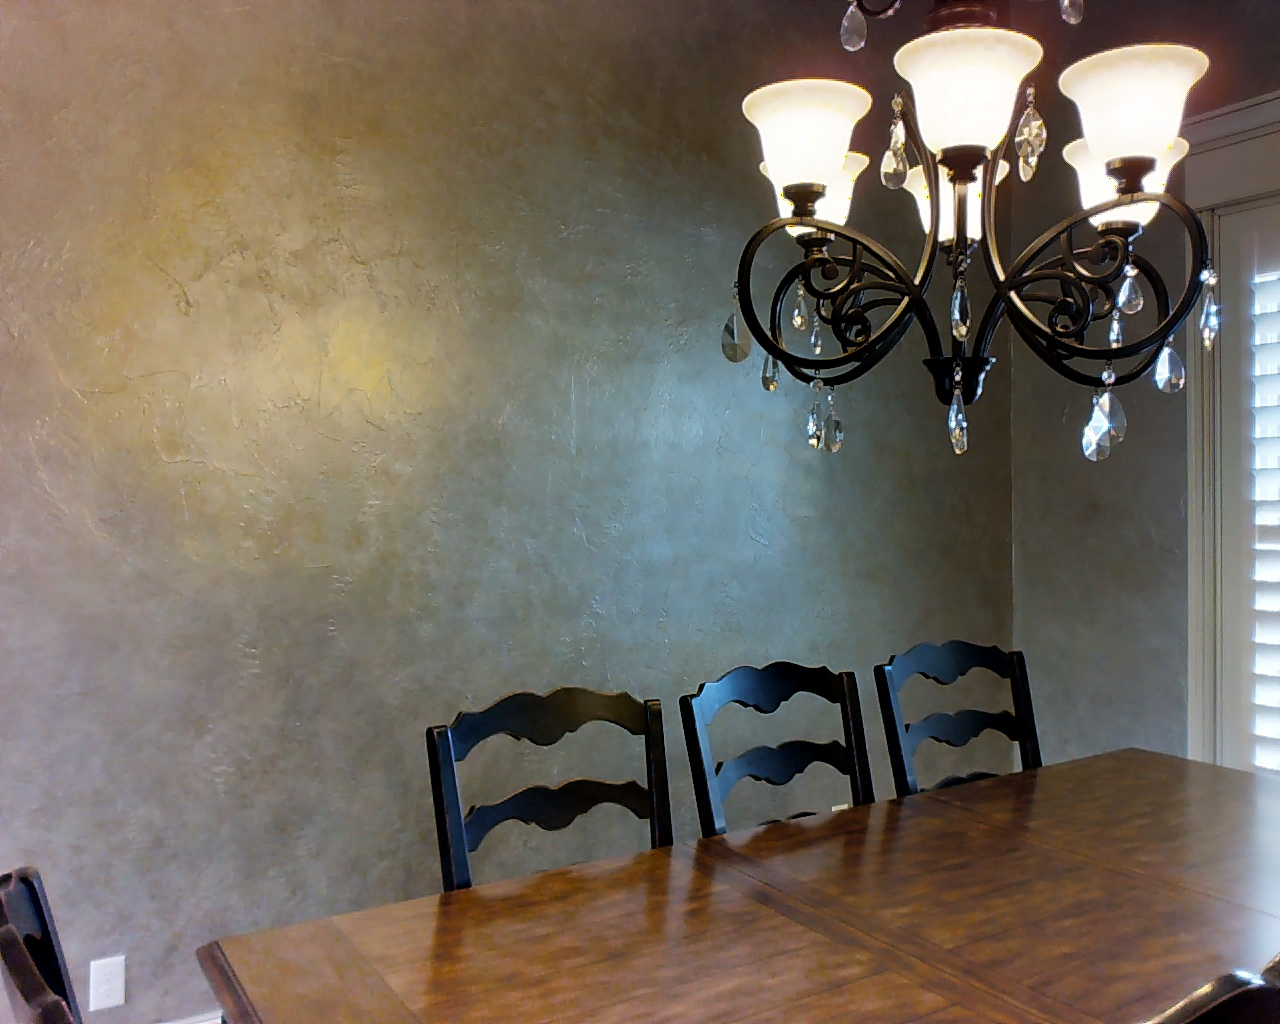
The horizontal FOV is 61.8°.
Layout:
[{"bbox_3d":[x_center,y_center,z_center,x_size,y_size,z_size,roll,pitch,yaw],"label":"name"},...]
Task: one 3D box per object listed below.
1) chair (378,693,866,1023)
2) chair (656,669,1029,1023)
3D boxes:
[{"bbox_3d":[-0.040,0.930,1.970,0.730,1.050,0.530,0,0,-32],"label":"chair"},{"bbox_3d":[0.440,0.920,2.330,0.680,1.050,0.440,0,0,-32],"label":"chair"}]
